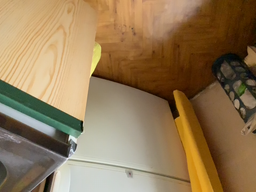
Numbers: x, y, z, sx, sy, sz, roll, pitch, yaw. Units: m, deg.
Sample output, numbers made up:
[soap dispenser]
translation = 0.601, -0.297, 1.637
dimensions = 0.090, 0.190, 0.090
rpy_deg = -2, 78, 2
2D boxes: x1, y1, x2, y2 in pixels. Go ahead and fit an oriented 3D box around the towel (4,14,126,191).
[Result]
[towel]
translation = -0.230, 0.020, 0.870
dimensions = 0.130, 0.780, 0.470
rpy_deg = 33, 120, -27
